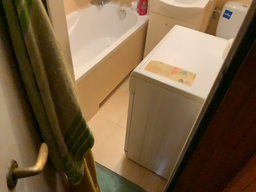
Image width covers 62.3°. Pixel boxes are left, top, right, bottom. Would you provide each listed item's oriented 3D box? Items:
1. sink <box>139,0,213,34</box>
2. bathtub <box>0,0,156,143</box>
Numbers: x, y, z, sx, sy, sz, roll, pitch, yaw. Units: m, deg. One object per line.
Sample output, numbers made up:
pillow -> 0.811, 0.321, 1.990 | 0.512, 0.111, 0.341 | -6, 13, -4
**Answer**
sink -> 0.420, -0.780, 1.850 | 0.510, 0.190, 0.380 | 25, 48, 18
bathtub -> -0.390, -0.380, 2.040 | 0.710, 0.570, 1.400 | 25, 48, 18
